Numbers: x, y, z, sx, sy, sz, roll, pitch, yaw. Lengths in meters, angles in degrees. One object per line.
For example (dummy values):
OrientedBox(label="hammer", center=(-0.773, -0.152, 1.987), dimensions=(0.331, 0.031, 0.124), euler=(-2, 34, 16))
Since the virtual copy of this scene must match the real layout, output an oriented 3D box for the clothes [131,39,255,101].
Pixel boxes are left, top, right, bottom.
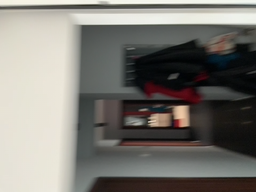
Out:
OrientedBox(label="clothes", center=(0.920, -0.320, 2.980), dimensions=(0.680, 1.760, 0.730), euler=(90, 180, -83))
